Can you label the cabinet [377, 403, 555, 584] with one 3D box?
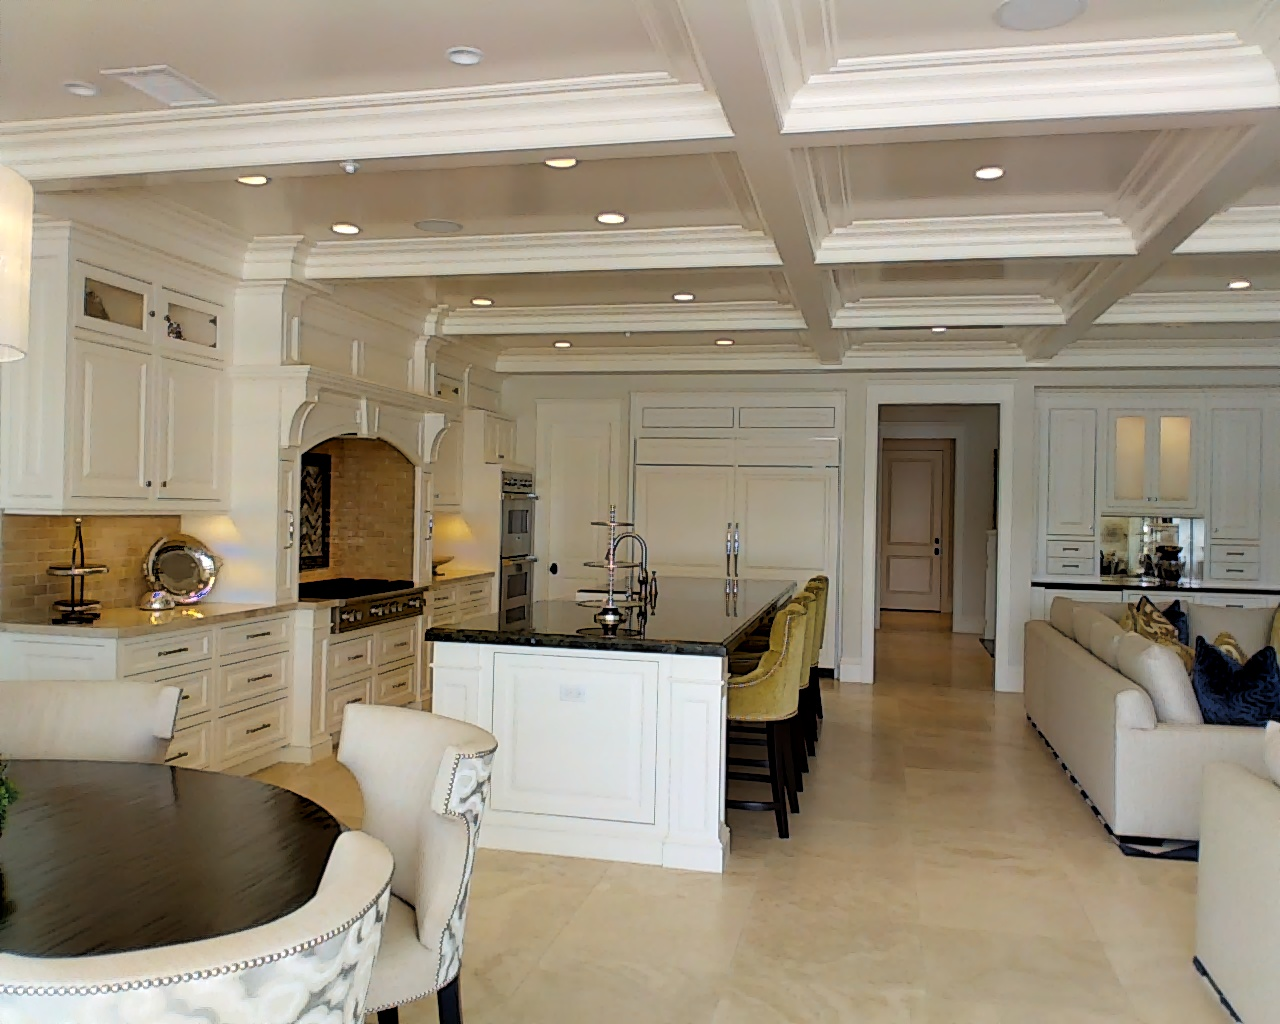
[{"bbox_3d":[-1.399,-0.140,9.120,0.680,1.351,2.160,1,0,14],"label":"cabinet"}]
